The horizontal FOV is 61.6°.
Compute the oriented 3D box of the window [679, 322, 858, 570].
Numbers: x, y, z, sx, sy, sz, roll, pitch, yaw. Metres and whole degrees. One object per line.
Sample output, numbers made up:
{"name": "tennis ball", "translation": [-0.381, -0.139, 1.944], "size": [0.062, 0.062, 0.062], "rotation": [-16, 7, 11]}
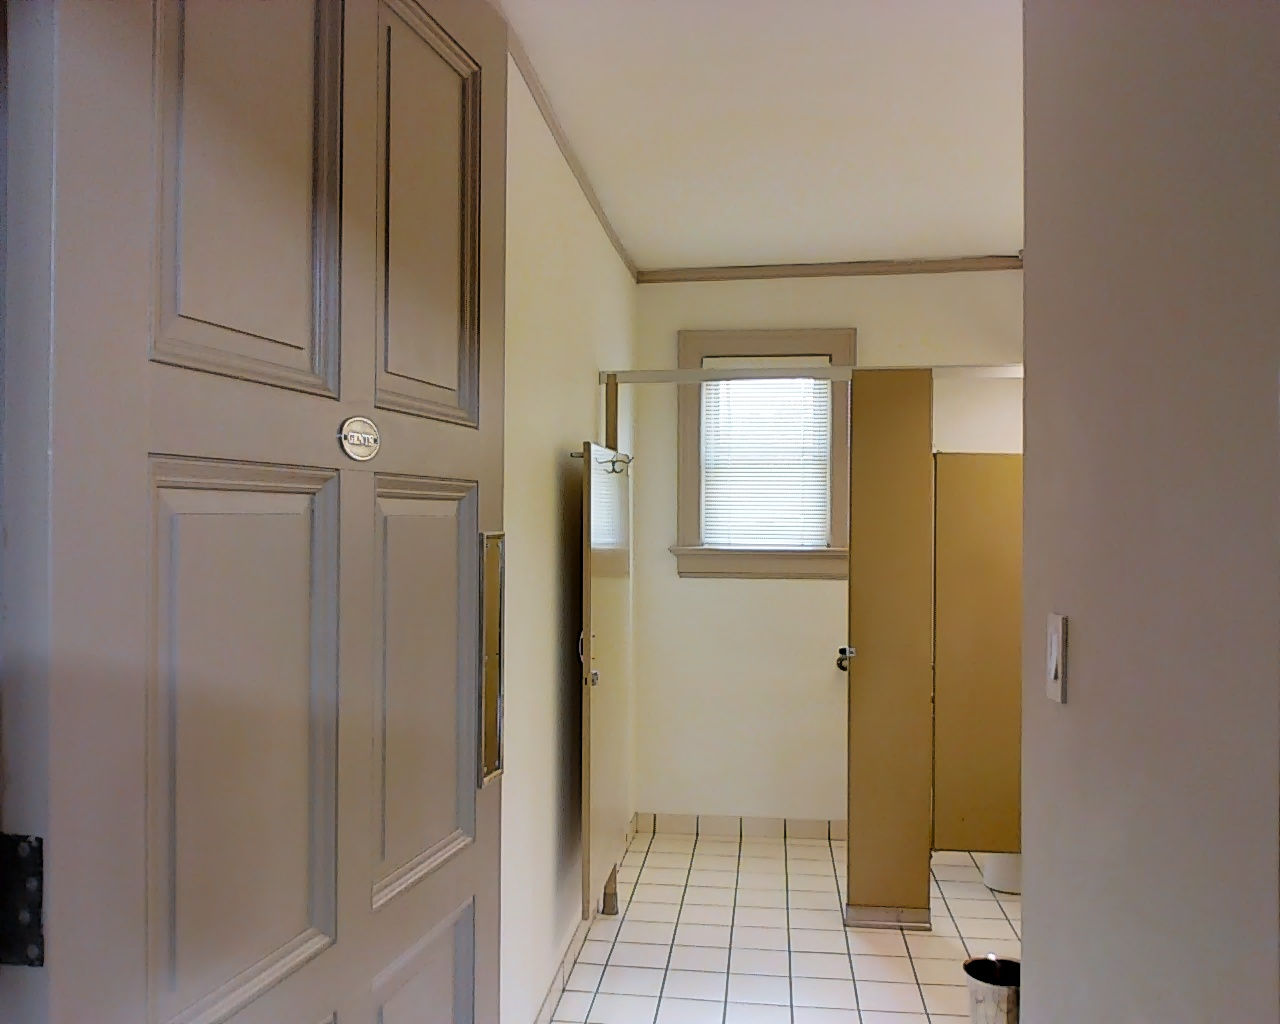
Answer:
{"name": "window", "translation": [0.610, -0.310, 5.130], "size": [0.840, 1.160, 0.100], "rotation": [0, 0, 7]}
